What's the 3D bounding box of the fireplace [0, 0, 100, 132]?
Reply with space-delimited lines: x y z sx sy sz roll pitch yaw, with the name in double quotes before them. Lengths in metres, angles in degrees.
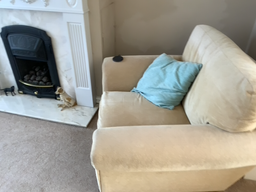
"fireplace" -1.040 -0.460 1.900 1.410 1.230 0.550 10 35 12
